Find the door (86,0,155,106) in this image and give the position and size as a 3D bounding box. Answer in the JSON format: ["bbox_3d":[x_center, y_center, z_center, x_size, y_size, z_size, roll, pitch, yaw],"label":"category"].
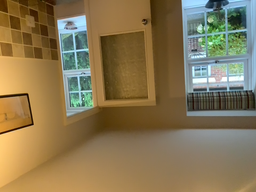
[{"bbox_3d":[-0.110,-0.850,2.610,0.810,1.940,0.030,-2,-174,13],"label":"door"}]

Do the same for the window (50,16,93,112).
[{"bbox_3d":[-0.940,-0.510,3.570,0.610,1.540,0.080,-2,-174,10],"label":"window"}]

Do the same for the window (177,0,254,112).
[{"bbox_3d":[1.170,-0.560,2.880,0.940,1.550,0.100,-2,-174,14],"label":"window"}]
